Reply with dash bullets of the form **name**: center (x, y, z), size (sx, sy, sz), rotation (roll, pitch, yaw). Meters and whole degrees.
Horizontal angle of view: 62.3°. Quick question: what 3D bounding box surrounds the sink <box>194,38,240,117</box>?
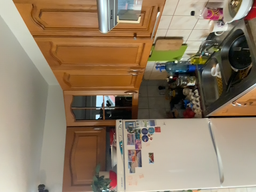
- **sink**: center (0.780, -0.150, 1.930), size (0.410, 0.120, 0.600), rotation (104, 165, -70)

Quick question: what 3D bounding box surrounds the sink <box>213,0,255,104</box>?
- **sink**: center (0.820, -0.290, 1.530), size (0.430, 0.120, 0.600), rotation (104, 165, -70)
